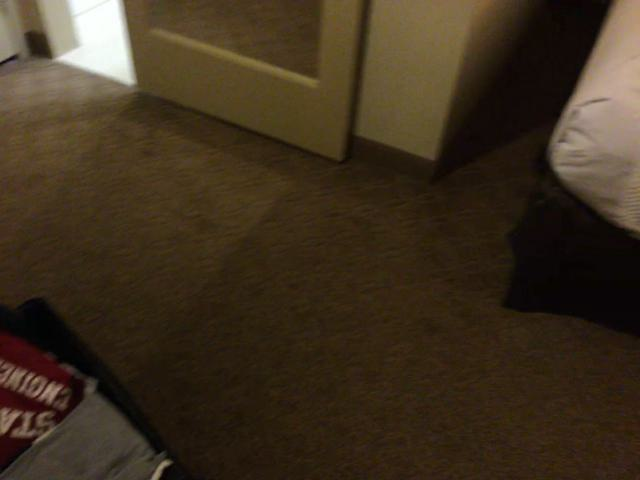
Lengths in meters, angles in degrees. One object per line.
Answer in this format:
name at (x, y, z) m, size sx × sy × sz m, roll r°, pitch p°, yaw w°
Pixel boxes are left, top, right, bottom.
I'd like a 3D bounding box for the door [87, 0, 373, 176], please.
door at (-0.320, -0.930, 1.680) m, size 1.010 × 1.360 × 0.150 m, roll 23°, pitch 48°, yaw 18°
